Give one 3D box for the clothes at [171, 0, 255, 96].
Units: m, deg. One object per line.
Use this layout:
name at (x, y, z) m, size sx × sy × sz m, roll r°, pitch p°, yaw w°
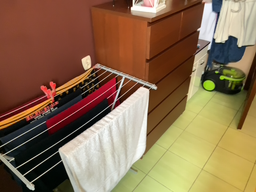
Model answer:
clothes at (1.010, -0.940, 2.350) m, size 0.740 × 1.740 × 0.440 m, roll 24°, pitch 41°, yaw 30°
